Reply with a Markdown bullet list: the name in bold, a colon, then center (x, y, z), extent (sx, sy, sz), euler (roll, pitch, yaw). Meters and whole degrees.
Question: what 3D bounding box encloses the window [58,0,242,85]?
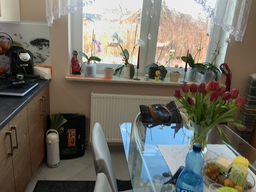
- **window**: center (0.250, -0.950, 2.360), extent (1.920, 1.560, 0.340), euler (2, 17, -9)
